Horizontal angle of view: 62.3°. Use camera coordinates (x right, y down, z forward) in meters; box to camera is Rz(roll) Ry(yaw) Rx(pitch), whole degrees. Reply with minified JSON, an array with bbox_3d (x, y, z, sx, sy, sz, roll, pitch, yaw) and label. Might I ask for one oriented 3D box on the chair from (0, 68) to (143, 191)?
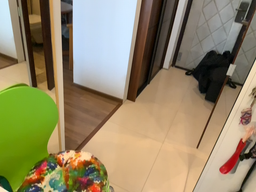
[{"bbox_3d":[-0.330,0.400,1.050,0.530,0.850,0.470,20,34,17],"label":"chair"}]
